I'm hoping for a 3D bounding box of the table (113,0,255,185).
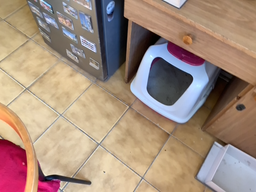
[{"bbox_3d":[0.500,-0.140,1.050,1.040,0.760,0.530,35,66,14],"label":"table"}]
